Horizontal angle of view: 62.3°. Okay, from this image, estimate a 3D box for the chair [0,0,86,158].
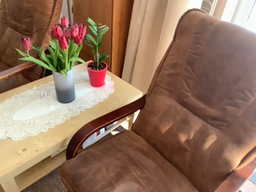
[{"bbox_3d":[-0.850,-0.270,1.510,0.660,1.000,0.800,31,46,29],"label":"chair"}]
